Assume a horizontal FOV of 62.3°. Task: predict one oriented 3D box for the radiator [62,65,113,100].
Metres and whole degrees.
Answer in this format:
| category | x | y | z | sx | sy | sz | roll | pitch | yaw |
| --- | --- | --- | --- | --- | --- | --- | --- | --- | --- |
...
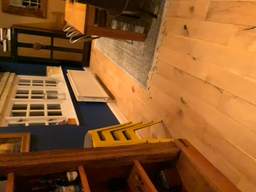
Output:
| category | x | y | z | sx | sy | sz | roll | pitch | yaw |
| --- | --- | --- | --- | --- | --- | --- | --- | --- | --- |
| radiator | -0.890 | -0.320 | 4.240 | 1.800 | 0.630 | 0.090 | -135 | 50 | -58 |
